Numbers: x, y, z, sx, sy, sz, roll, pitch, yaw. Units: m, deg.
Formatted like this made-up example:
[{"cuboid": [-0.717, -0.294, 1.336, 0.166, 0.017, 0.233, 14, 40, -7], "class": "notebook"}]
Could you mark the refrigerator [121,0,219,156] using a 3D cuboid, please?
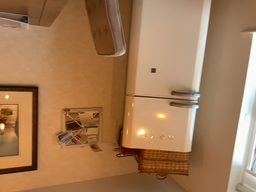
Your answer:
[{"cuboid": [0.320, -0.410, 1.910, 0.630, 1.710, 0.600, 4, -170, -2], "class": "refrigerator"}]
